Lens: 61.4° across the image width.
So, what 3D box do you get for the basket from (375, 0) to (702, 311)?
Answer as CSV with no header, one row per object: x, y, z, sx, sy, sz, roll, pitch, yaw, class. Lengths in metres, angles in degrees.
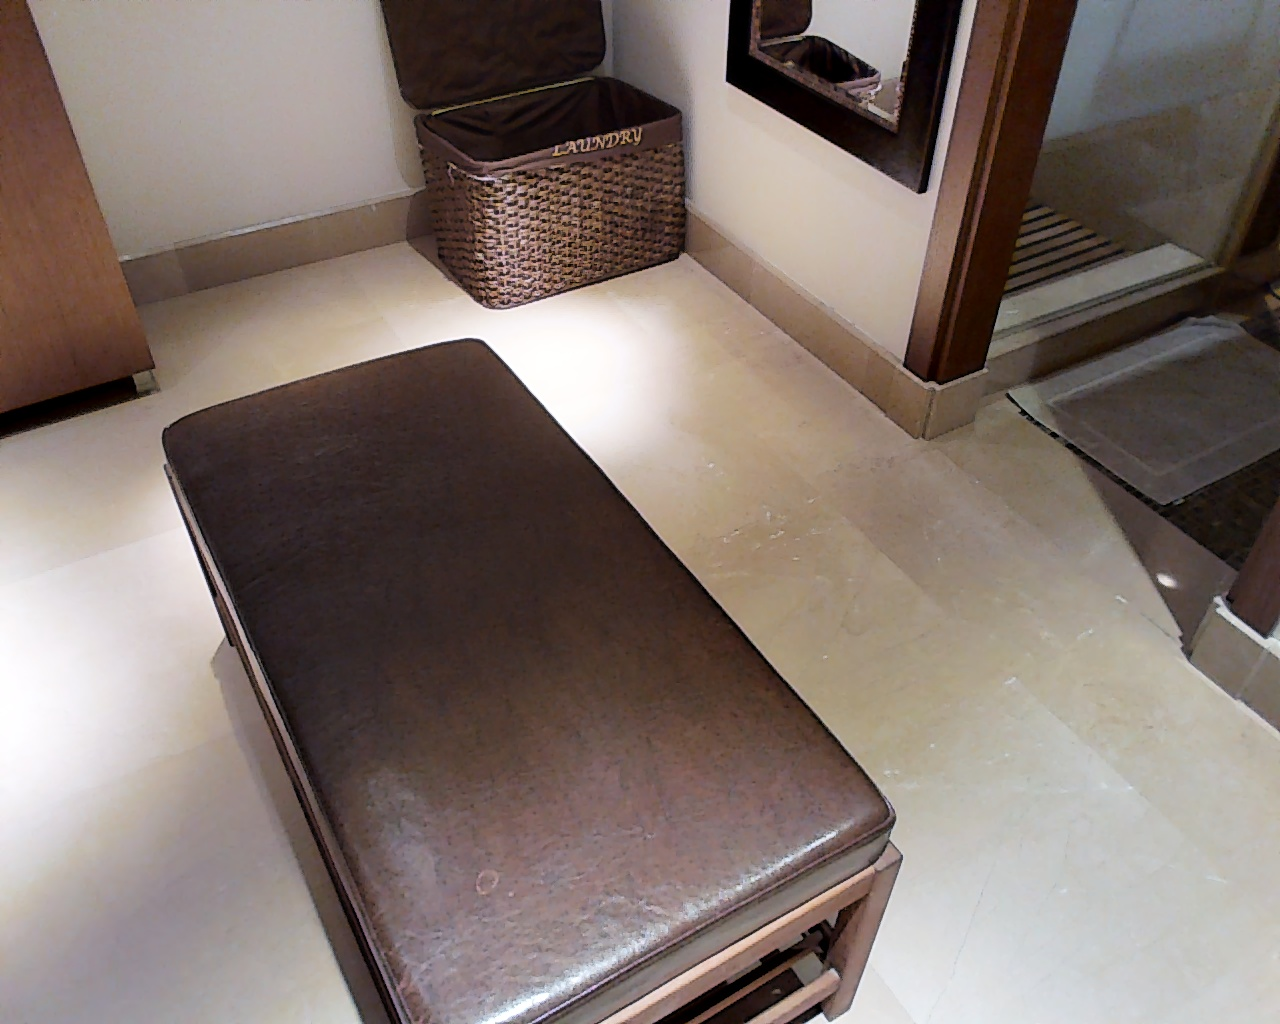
-0.280,-1.160,3.030,0.700,0.870,0.540,-21,46,-22,basket
